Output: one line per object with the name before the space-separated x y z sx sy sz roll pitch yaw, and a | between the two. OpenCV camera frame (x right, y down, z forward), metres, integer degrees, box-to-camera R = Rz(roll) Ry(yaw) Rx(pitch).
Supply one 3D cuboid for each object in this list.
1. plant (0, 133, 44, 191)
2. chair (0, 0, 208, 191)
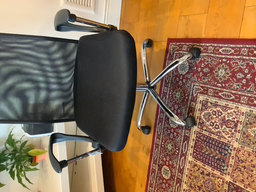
plant | -0.900 0.520 1.690 0.150 0.390 0.360 20 107 50
chair | -0.250 -0.030 1.110 0.740 1.050 0.680 15 103 51
